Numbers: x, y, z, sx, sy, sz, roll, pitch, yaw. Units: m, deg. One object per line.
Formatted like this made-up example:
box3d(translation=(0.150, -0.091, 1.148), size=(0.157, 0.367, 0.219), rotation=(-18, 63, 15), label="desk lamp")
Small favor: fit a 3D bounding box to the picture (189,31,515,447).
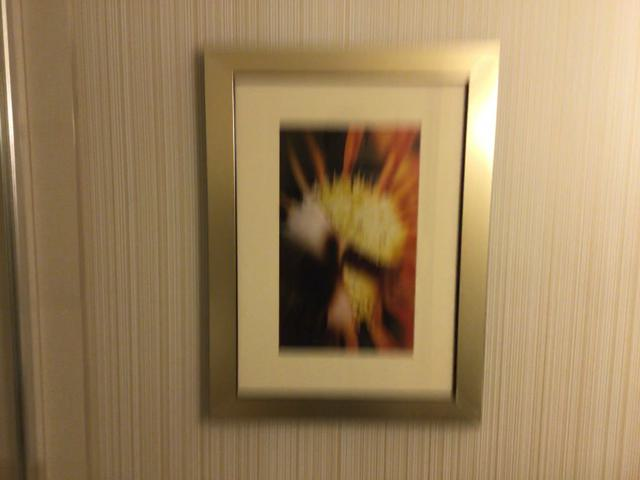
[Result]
box3d(translation=(0.040, 0.010, 1.000), size=(0.520, 0.690, 0.040), rotation=(2, 8, 2), label="picture")
